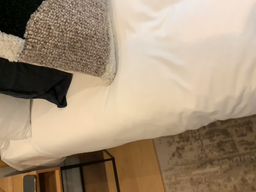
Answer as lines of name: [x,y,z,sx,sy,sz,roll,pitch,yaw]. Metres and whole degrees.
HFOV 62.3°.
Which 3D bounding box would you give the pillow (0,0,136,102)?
pillow: [-0.230,-0.280,0.620,0.210,0.390,0.470,-24,93,26]
